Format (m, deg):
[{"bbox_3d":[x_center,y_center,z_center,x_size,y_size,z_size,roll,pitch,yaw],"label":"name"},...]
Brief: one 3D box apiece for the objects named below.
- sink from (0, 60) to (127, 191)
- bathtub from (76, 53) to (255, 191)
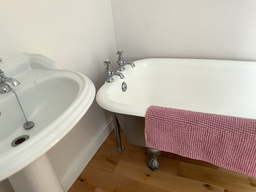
[{"bbox_3d":[-0.360,0.100,0.740,0.460,0.190,0.670,7,33,23],"label":"sink"},{"bbox_3d":[0.670,0.180,1.280,1.710,0.590,0.750,7,33,23],"label":"bathtub"}]
